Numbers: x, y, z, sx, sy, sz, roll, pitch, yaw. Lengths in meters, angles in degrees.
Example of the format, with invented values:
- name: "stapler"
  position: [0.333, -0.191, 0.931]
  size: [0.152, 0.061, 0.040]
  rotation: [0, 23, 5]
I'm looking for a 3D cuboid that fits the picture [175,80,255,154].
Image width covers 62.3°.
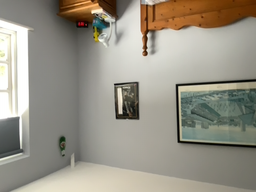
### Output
- name: "picture"
  position: [0.830, 0.180, 1.960]
  size: [0.770, 0.630, 0.070]
  rotation: [0, -179, 26]

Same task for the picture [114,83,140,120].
- name: "picture"
  position: [-0.010, 0.060, 2.390]
  size: [0.300, 0.410, 0.050]
  rotation: [0, -179, 28]
